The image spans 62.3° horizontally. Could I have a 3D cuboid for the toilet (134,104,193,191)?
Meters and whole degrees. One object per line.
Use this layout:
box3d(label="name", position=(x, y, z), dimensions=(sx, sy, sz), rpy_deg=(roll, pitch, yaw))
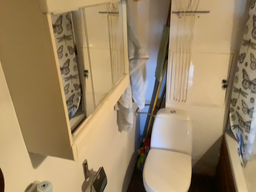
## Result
box3d(label="toilet", position=(0.300, 0.550, 1.720), dimensions=(0.350, 0.720, 0.650), rpy_deg=(5, 28, 13))
